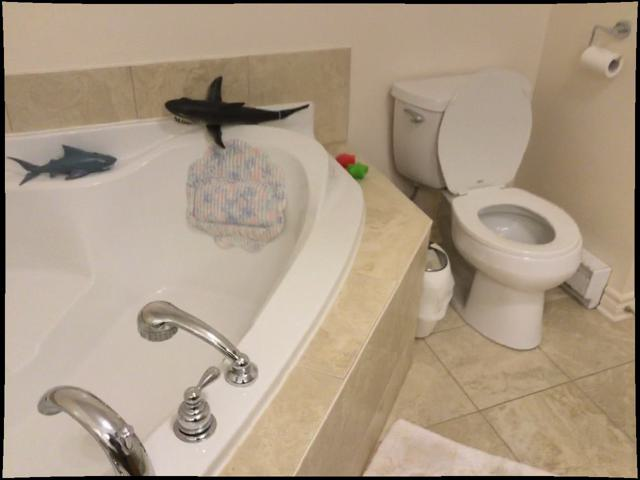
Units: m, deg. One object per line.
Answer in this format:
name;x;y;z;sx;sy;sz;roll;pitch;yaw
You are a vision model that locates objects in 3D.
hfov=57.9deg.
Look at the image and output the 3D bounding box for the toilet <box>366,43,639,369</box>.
toilet;0.579;-0.150;1.900;0.520;0.750;0.710;-9;38;-19
